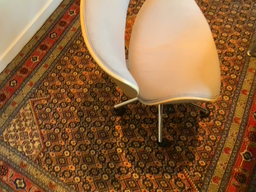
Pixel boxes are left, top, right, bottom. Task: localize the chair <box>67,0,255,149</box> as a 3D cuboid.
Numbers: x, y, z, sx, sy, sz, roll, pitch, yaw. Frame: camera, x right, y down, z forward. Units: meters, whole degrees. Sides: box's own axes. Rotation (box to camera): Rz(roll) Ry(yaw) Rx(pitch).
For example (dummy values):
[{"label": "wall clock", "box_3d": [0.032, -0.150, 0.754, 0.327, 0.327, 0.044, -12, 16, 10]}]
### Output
[{"label": "chair", "box_3d": [0.180, -0.120, 1.010, 0.620, 0.830, 0.590, -1, 66, 3]}]
